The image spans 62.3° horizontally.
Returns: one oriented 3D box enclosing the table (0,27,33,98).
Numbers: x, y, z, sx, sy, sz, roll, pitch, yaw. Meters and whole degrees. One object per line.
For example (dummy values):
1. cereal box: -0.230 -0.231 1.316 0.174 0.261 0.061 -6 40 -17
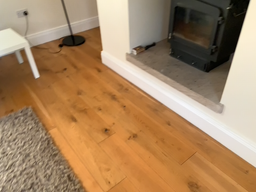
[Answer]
1. table: -1.520 -0.350 2.350 0.570 0.520 0.600 -27 46 -28
